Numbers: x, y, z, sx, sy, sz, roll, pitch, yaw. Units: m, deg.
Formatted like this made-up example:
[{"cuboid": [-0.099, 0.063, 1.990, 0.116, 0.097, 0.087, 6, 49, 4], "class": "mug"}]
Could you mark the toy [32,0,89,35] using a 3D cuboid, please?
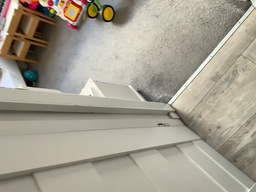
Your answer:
[{"cuboid": [-0.780, -1.070, 2.290, 0.330, 0.370, 0.720, -44, 61, 28], "class": "toy"}]

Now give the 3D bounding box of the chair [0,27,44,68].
[{"cuboid": [-1.390, -0.600, 2.660, 0.290, 0.480, 0.310, -53, 57, 23], "class": "chair"}]

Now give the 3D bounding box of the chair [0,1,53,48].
[{"cuboid": [-1.240, -0.850, 2.560, 0.290, 0.480, 0.310, -53, 57, 23], "class": "chair"}]
